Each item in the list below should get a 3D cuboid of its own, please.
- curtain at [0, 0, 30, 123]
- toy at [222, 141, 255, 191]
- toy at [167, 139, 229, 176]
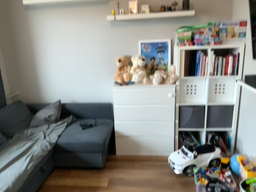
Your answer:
[{"bbox_3d":[-1.800,-0.730,2.920,0.360,2.180,0.430,-2,15,0],"label":"curtain"},{"bbox_3d":[1.290,0.790,2.430,0.210,0.330,0.520,-1,15,5],"label":"toy"},{"bbox_3d":[0.820,0.740,2.610,0.640,0.240,0.420,-1,15,5],"label":"toy"}]
